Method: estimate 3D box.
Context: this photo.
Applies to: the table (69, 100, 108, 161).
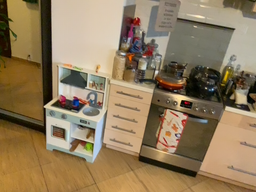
[{"bbox_3d":[-0.400,0.350,2.150,0.270,0.500,0.260,14,27,8],"label":"table"}]
